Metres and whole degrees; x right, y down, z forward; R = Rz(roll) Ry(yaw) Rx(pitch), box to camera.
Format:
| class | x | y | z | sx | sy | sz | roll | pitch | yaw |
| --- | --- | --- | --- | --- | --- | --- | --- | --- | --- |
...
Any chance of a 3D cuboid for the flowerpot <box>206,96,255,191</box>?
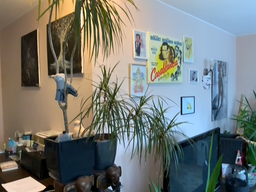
| class | x | y | z | sx | sy | sz | roll | pitch | yaw |
| --- | --- | --- | --- | --- | --- | --- | --- | --- | --- |
| flowerpot | 1.750 | 0.710 | 2.890 | 0.950 | 1.370 | 0.960 | -3 | 4 | -42 |
